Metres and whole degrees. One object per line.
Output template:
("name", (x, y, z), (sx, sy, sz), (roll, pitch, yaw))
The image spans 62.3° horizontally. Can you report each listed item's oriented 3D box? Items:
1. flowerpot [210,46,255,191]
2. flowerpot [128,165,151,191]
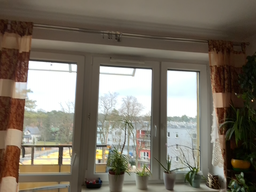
("flowerpot", (1.090, 0.330, 1.980), (0.420, 1.450, 0.440), (3, -6, -11))
("flowerpot", (0.120, 0.900, 2.290), (0.180, 0.240, 0.280), (3, -6, -10))
